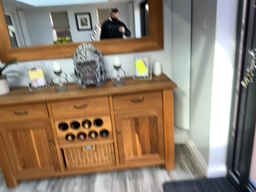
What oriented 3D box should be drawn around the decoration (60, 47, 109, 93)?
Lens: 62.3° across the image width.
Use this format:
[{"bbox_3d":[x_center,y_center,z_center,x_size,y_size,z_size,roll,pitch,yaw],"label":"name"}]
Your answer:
[{"bbox_3d":[-0.390,-0.250,1.990,0.360,0.360,0.270,-4,19,1],"label":"decoration"}]
